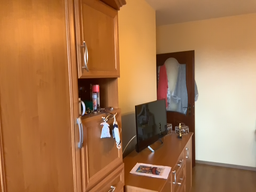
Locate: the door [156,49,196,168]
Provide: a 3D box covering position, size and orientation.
[{"bbox_3d":[0.870,0.210,3.900,0.720,2.020,0.190,4,7,44],"label":"door"}]

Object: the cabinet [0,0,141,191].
[{"bbox_3d":[-0.320,0.150,1.000,0.460,1.450,0.870,1,6,24],"label":"cabinet"}]
